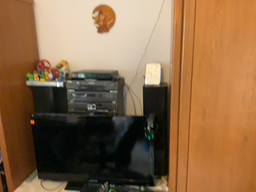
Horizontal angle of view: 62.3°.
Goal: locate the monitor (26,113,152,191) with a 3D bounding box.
[{"bbox_3d":[-0.310,0.450,1.720,1.000,0.590,0.070,1,14,8],"label":"monitor"}]
